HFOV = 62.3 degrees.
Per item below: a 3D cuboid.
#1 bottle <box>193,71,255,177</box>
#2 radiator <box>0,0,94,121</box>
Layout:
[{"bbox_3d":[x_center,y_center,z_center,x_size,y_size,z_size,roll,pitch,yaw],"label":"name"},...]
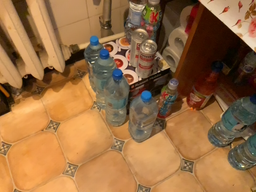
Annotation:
[{"bbox_3d":[0.440,0.110,0.800,0.190,0.240,0.270,-23,63,-15],"label":"bottle"},{"bbox_3d":[-0.360,-0.230,0.680,0.380,0.720,0.190,-25,63,-16],"label":"radiator"}]
